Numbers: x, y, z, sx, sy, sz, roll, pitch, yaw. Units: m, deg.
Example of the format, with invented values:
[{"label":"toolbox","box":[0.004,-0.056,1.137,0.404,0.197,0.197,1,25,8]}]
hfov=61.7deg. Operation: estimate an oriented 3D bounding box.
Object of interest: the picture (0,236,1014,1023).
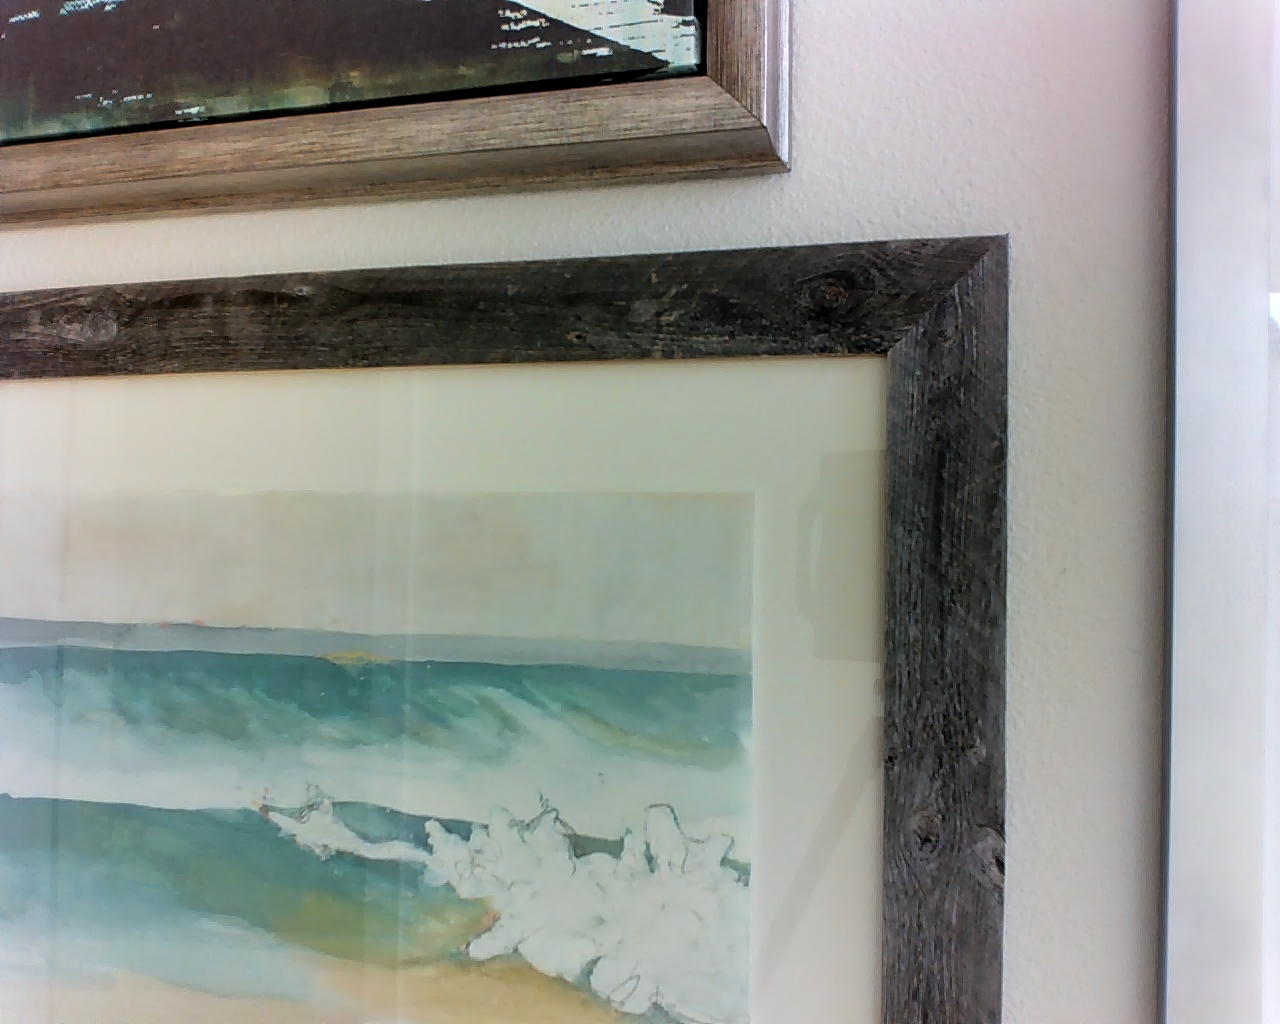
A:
[{"label":"picture","box":[-0.230,0.180,0.640,0.850,0.630,0.040,1,0,15]}]
